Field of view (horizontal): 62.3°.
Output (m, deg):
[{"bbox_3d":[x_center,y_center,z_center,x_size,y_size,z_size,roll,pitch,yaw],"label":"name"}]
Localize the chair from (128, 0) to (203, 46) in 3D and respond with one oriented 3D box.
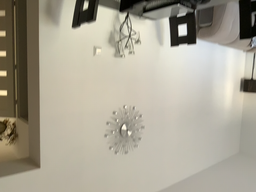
[{"bbox_3d":[0.360,-1.030,1.940,0.520,1.030,0.440,-3,-172,-43],"label":"chair"}]
